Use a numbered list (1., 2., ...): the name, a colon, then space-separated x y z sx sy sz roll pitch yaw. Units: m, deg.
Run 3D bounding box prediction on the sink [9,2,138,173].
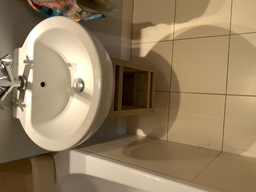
1. sink: -0.220 -0.040 0.780 0.440 0.180 0.470 7 93 34
